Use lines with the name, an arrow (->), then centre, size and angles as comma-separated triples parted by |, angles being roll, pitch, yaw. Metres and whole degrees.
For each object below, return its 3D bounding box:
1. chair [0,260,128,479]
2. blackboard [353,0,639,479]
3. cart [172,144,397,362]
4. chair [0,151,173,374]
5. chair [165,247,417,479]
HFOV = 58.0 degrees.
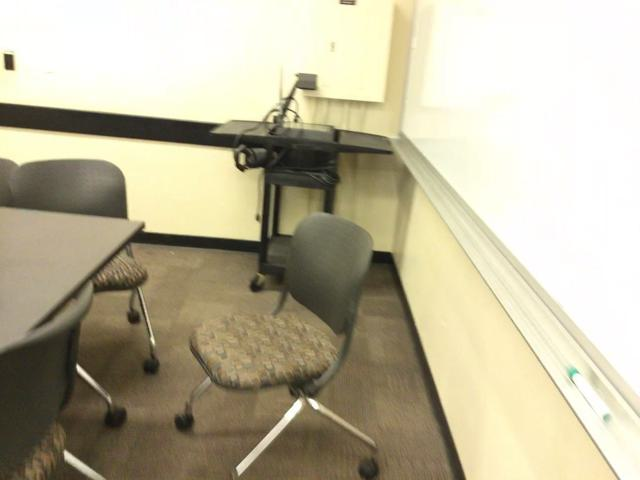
chair -> -0.740, 0.390, 1.330 | 0.430, 0.560, 0.470 | 6, 14, -1
blackboard -> 0.460, -0.230, 0.730 | 0.330, 1.540, 6.110 | 6, 14, -1
cart -> -0.210, 0.010, 3.580 | 1.110, 1.000, 1.040 | 6, 14, -1
chair -> -1.060, 0.040, 2.480 | 0.590, 0.740, 0.640 | -5, 18, -38
chair -> -0.140, 0.440, 2.070 | 0.620, 0.670, 0.610 | -2, 16, -32
